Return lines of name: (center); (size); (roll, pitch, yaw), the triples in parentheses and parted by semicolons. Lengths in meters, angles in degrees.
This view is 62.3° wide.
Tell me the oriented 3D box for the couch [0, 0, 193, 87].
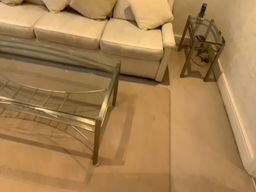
couch: (-0.990, -0.980, 2.320); (3.040, 0.870, 0.940); (9, 42, -2)
